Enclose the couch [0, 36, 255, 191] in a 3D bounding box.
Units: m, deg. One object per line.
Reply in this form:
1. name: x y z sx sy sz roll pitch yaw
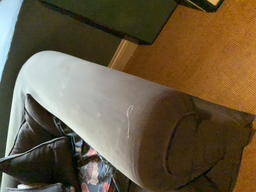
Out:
1. couch: -0.160 0.530 1.180 1.090 0.740 1.420 26 106 44
